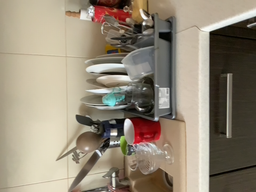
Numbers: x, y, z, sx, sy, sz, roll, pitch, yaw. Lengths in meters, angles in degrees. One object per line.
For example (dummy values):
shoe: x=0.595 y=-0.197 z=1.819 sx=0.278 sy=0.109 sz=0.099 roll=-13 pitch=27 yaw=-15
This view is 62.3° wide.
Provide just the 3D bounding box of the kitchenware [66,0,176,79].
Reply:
kitchenware: x=-0.070 y=-0.390 z=0.850 sx=0.500 sy=0.280 sz=0.600 roll=-160 pitch=71 yaw=-65

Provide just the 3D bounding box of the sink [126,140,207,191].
sink: x=0.140 y=0.360 z=0.950 sx=0.420 sy=0.150 sz=0.220 roll=-177 pitch=87 yaw=-67
